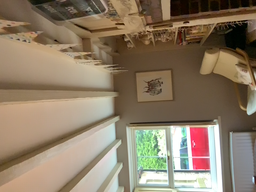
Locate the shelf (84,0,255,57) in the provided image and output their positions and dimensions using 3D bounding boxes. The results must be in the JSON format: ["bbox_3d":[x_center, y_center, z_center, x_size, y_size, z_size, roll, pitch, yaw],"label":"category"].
[{"bbox_3d":[0.640,-0.870,2.900,1.290,2.090,0.280,0,-92,-80],"label":"shelf"}]
